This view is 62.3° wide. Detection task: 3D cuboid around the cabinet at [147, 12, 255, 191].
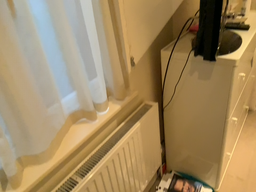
[{"bbox_3d":[0.650,-0.030,1.640,0.450,0.960,1.030,15,38,34],"label":"cabinet"}]
